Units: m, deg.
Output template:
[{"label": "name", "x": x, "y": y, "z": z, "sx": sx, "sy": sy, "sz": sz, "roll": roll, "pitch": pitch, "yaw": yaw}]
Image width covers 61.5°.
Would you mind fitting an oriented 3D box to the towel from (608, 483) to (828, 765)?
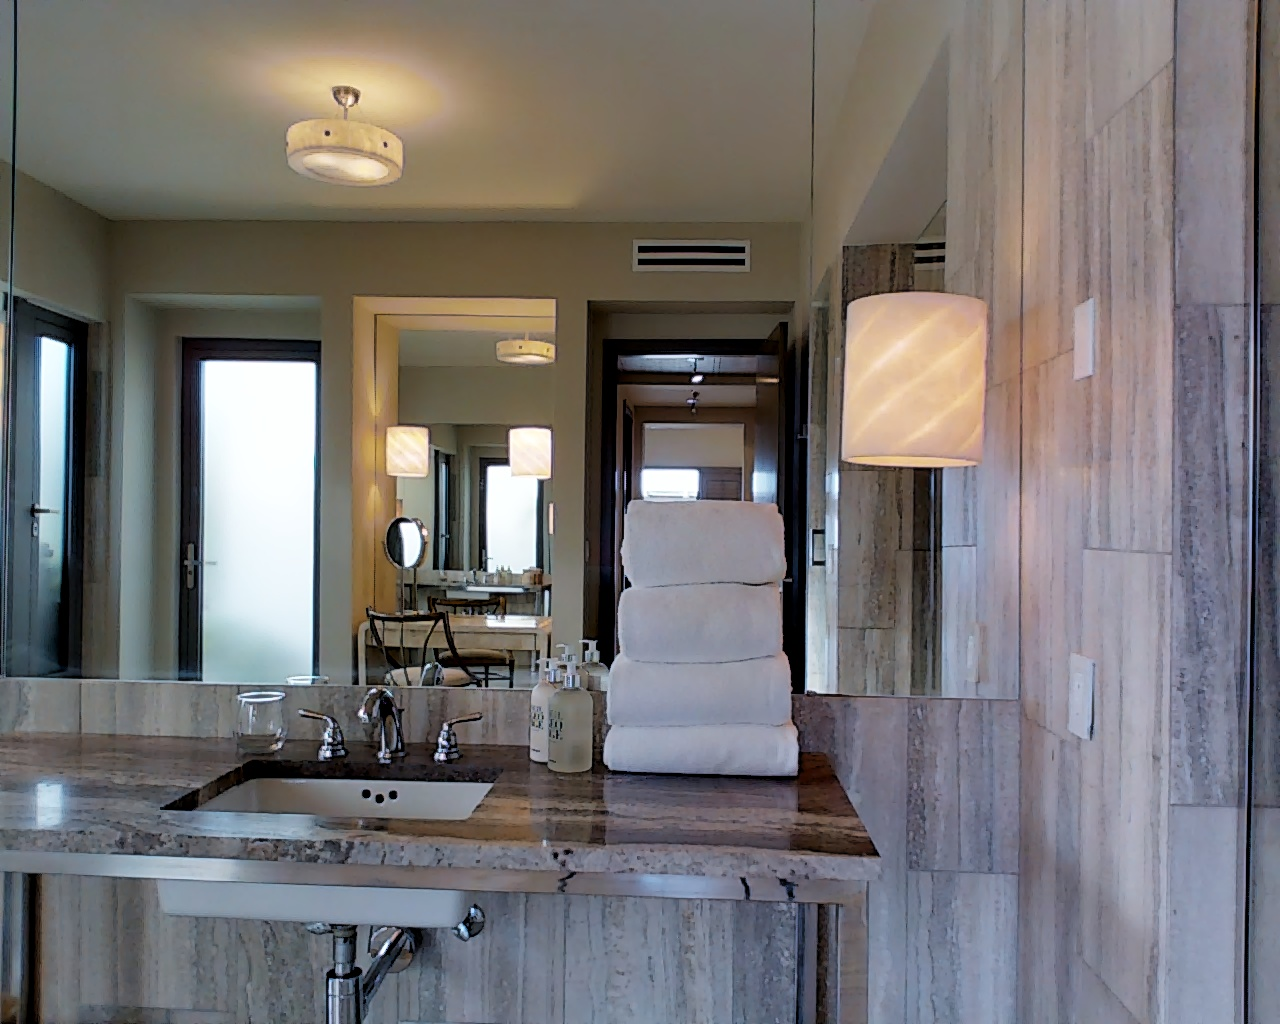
[{"label": "towel", "x": 0.130, "y": 0.180, "z": 1.850, "sx": 0.350, "sy": 0.450, "sz": 0.220, "roll": 1, "pitch": 0, "yaw": 3}]
